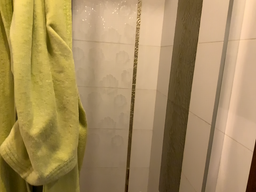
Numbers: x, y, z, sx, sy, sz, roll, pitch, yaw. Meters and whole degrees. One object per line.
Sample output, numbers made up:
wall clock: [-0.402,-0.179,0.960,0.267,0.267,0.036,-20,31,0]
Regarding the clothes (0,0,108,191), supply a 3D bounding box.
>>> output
clothes: [-0.250,0.120,0.580,0.330,1.680,0.300,4,11,-3]
